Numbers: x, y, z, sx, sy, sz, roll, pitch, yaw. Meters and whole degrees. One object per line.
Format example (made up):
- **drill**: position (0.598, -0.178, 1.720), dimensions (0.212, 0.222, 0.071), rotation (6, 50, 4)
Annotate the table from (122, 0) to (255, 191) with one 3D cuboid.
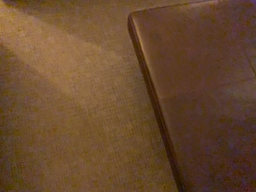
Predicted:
- **table**: position (0.600, -0.030, 1.160), dimensions (1.030, 0.390, 1.040), rotation (-12, 70, -10)
